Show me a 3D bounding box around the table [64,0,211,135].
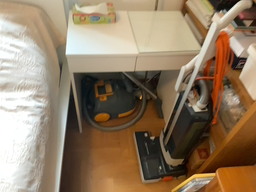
[{"bbox_3d":[0.000,-0.170,1.520,0.750,0.770,0.530,-2,50,-8],"label":"table"}]
